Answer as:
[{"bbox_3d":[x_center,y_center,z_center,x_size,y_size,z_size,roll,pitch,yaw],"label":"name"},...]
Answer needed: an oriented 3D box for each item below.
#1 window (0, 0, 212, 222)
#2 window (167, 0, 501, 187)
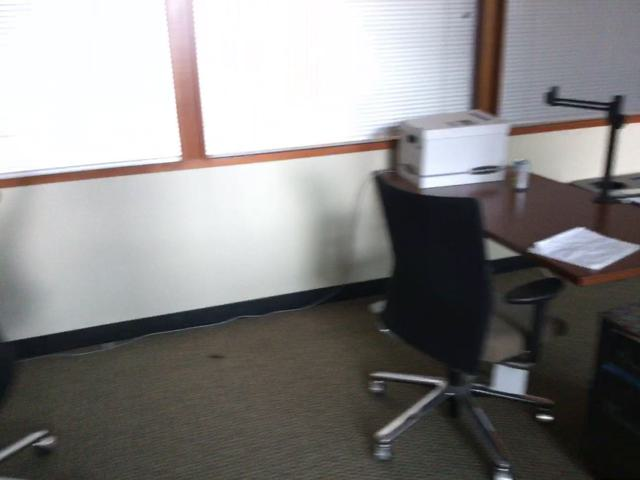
[{"bbox_3d":[-1.140,-0.560,2.420,1.240,0.880,0.200,-9,18,-18],"label":"window"},{"bbox_3d":[0.130,-0.740,2.700,1.530,0.770,0.190,-9,18,-18],"label":"window"}]
